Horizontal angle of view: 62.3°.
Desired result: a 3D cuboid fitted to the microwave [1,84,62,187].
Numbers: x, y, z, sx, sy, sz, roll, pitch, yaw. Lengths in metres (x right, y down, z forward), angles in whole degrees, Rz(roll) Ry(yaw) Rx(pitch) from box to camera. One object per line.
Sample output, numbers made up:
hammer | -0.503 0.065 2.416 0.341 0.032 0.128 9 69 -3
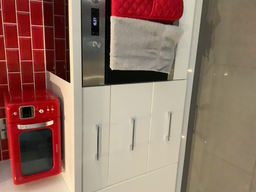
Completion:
microwave | -0.580 0.190 1.260 0.410 0.250 0.450 20 111 55
